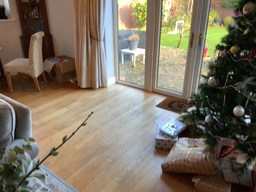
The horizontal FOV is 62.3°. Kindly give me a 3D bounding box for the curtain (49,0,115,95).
[{"bbox_3d":[-0.760,-1.210,3.610,0.830,2.190,0.600,15,29,30],"label":"curtain"}]

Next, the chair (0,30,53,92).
[{"bbox_3d":[-1.790,-0.620,3.720,0.650,0.970,0.510,0,25,0],"label":"chair"}]
